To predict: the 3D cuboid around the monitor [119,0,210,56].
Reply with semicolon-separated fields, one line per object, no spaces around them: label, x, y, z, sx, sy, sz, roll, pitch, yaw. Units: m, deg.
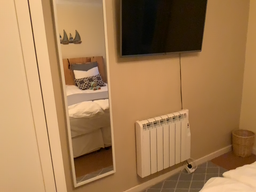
monitor;0.370;-0.680;1.950;0.990;0.550;0.050;-10;23;-29
